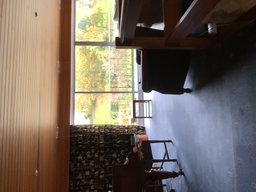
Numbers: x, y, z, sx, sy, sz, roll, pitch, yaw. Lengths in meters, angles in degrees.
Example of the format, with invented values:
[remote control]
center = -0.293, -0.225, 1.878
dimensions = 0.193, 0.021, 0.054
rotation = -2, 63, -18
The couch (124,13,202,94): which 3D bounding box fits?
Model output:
[couch]
center = 0.360, -0.550, 2.730
dimensions = 0.730, 0.760, 0.740
rotation = -96, 8, -47
